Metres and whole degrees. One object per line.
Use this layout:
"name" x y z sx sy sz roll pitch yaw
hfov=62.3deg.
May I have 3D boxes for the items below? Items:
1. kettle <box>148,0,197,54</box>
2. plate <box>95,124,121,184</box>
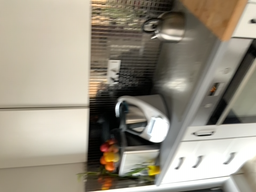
"kettle" 0.270 -0.460 1.370 0.210 0.160 0.340 102 161 -45
"plate" -0.190 0.510 1.860 0.320 0.150 0.440 -104 18 -44
